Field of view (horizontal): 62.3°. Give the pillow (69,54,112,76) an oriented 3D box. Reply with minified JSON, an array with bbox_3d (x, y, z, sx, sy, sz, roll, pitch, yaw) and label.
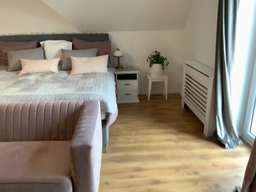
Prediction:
[{"bbox_3d":[-0.620,-0.520,3.480,0.640,0.250,0.340,-7,20,-16],"label":"pillow"}]
